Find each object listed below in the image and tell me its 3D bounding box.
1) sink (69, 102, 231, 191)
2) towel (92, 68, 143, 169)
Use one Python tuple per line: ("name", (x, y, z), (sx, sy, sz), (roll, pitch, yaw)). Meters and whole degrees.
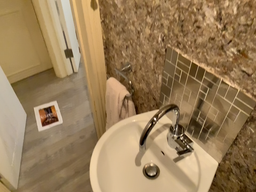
("sink", (0.060, 0.280, 0.780), (0.380, 0.150, 0.410), (-28, 52, -23))
("towel", (-0.050, 0.150, 1.170), (0.130, 0.570, 0.230), (-27, 52, -23))
